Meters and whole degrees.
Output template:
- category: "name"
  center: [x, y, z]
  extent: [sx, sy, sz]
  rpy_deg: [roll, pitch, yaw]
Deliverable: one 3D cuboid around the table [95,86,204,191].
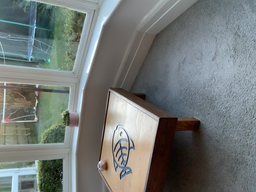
- category: "table"
  center: [0.080, 0.410, 1.670]
  extent: [0.820, 0.340, 0.820]
  rpy_deg: [28, 111, 60]
